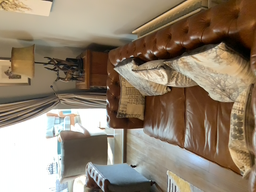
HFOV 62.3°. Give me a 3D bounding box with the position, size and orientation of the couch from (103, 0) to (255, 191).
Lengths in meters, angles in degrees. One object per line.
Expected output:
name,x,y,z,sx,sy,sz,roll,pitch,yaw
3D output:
couch,0.470,0.030,1.630,1.790,0.760,0.870,-175,86,-65

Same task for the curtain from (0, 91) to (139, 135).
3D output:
curtain,-0.930,0.210,2.940,0.310,2.250,0.510,-172,83,-65

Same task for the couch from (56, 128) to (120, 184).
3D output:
couch,-0.790,1.060,4.020,0.820,1.000,0.820,165,104,-64

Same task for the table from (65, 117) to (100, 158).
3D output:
table,-1.240,1.000,5.510,1.540,0.550,0.730,-177,88,-65
